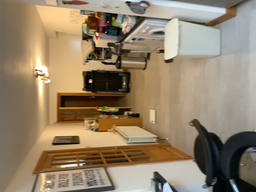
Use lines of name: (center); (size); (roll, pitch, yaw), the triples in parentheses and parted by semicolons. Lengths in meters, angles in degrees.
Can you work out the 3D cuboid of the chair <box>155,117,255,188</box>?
chair: (0.780, 0.450, 1.750); (0.380, 0.970, 0.410); (113, 153, -53)
